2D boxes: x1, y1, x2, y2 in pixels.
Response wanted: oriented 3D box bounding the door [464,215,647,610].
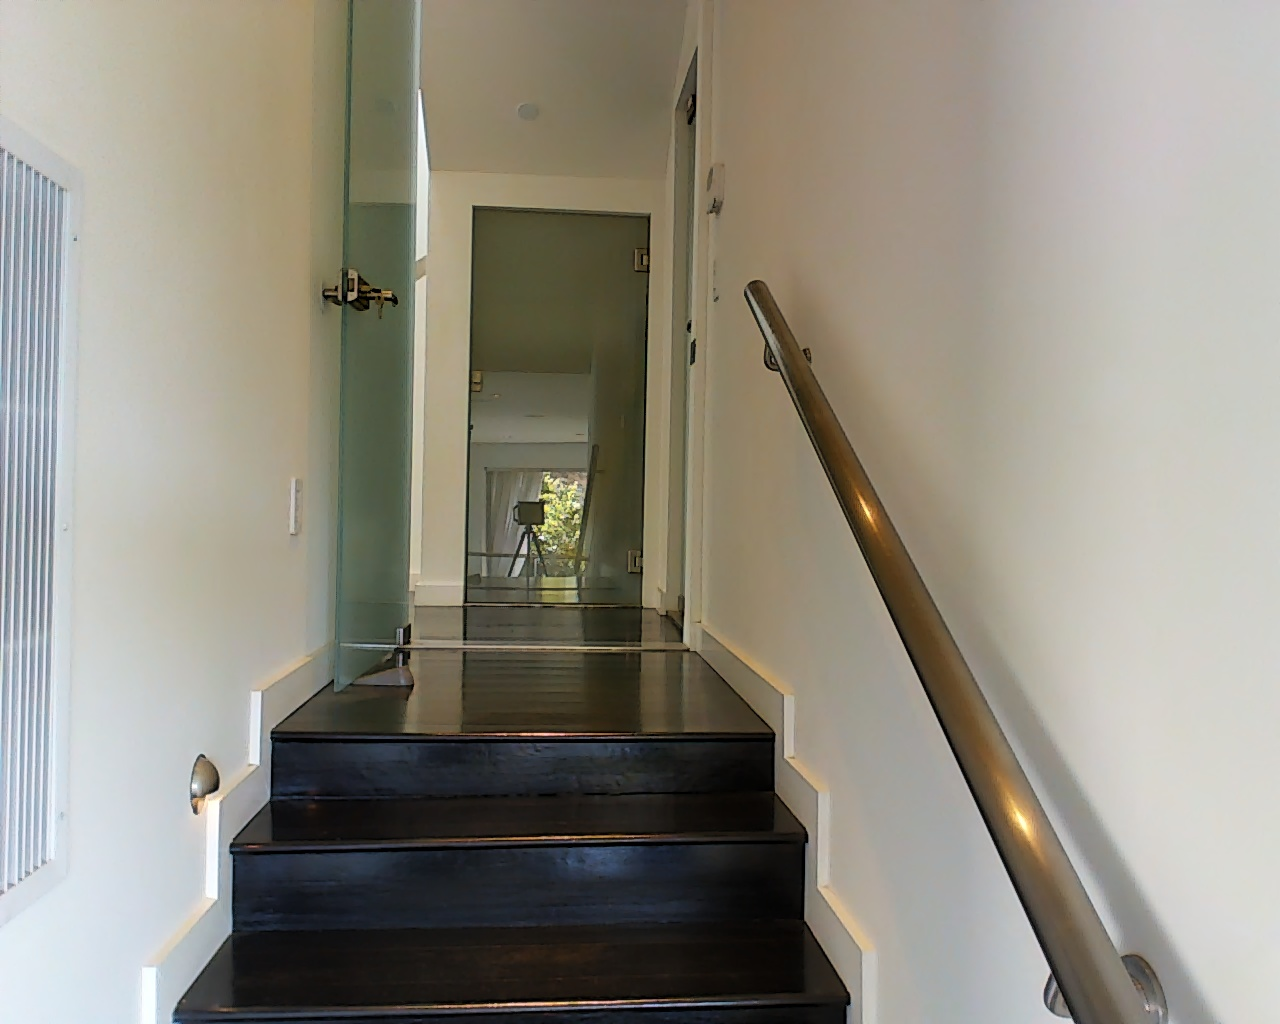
[{"bbox_3d":[-0.370,-0.430,4.740,0.770,1.710,0.040,1,0,-5],"label":"door"}]
